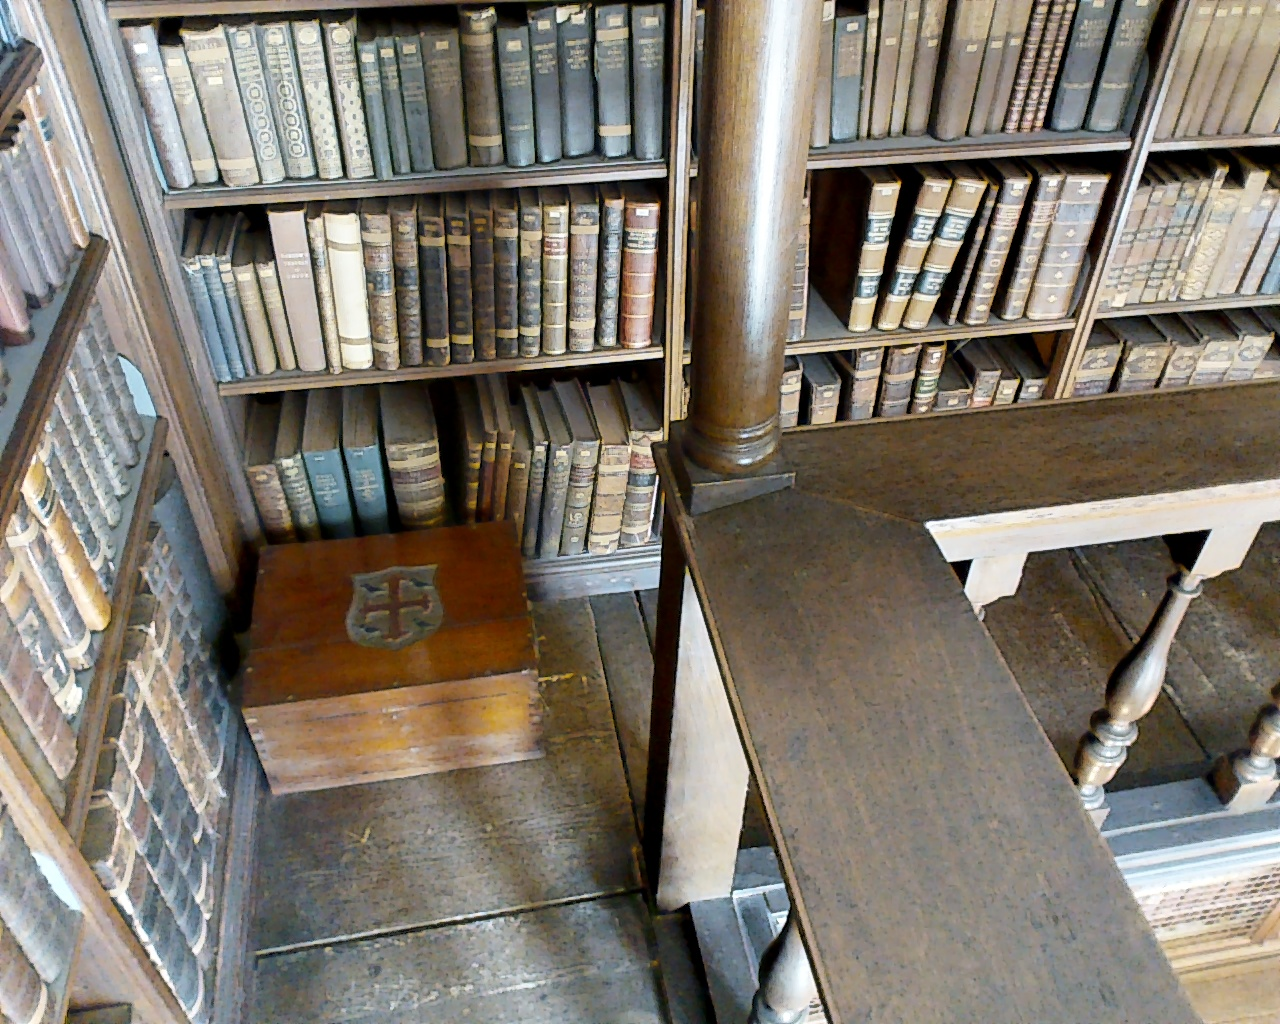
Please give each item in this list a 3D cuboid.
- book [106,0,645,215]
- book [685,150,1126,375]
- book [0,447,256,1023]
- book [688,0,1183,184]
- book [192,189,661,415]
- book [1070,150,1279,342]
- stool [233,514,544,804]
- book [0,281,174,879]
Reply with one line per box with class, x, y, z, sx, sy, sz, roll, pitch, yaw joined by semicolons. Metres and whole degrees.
book;-0.360;-0.600;1.590;0.720;0.250;0.110;-5;42;-8
book;0.450;-0.440;1.910;0.720;0.340;0.100;-5;42;-8
book;-0.760;0.340;1.580;0.250;0.490;0.750;-8;42;-10
book;0.450;-0.680;1.700;0.730;0.250;0.110;-5;42;-8
book;-0.330;-0.350;1.800;0.710;0.310;0.130;-5;42;-7
book;1.210;-0.510;2.020;0.720;0.310;0.110;-6;42;-9
stool;-0.440;0.250;1.950;0.480;0.220;0.430;-6;42;-8
book;-0.760;0.040;1.310;0.220;0.290;0.740;-7;42;-10
